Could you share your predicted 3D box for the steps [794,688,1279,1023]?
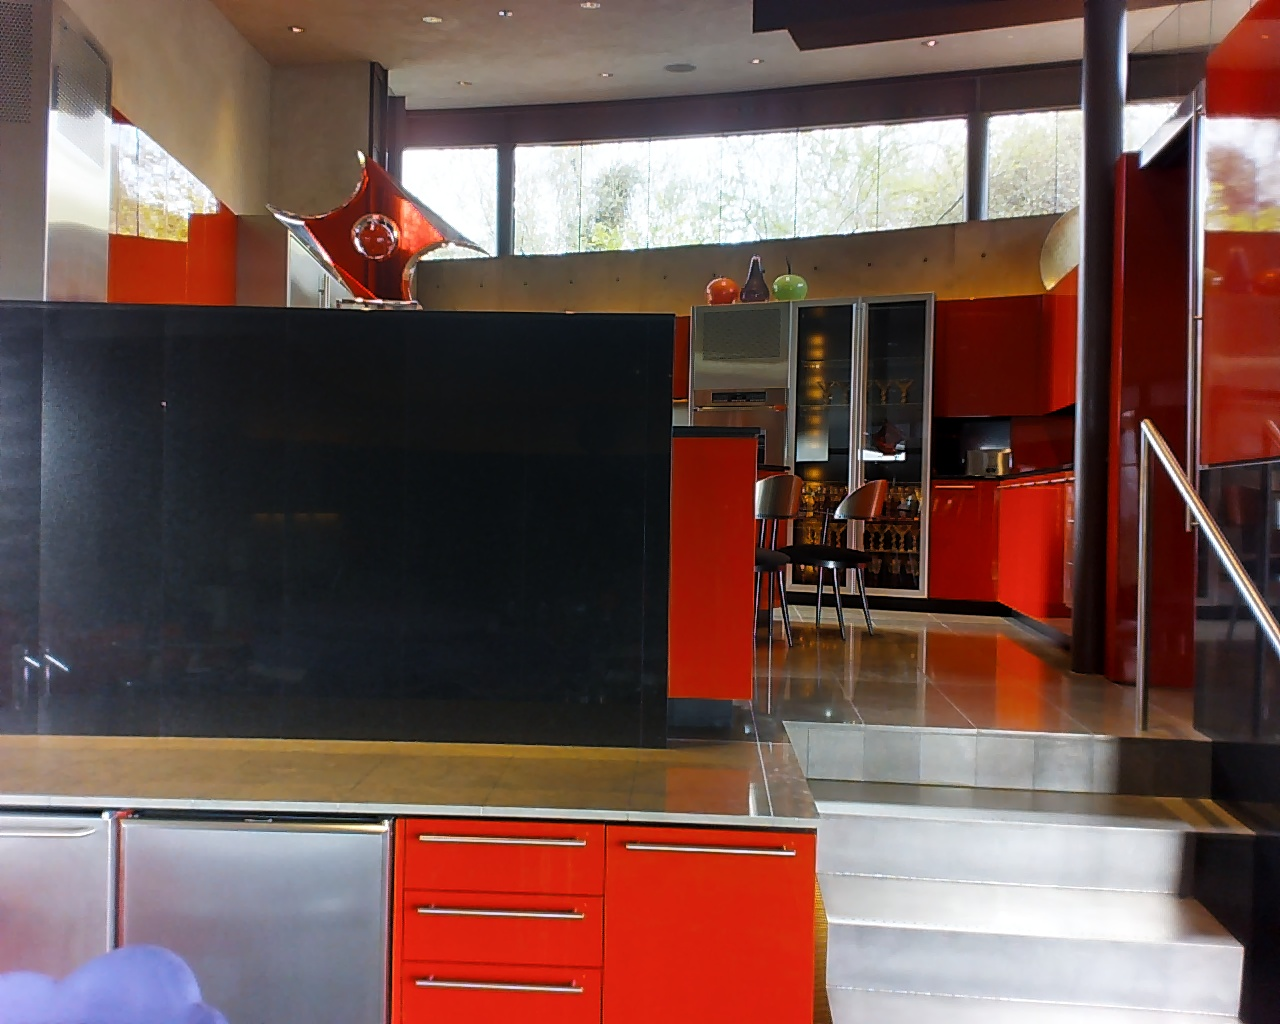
[{"bbox_3d":[1.060,1.080,2.640,1.230,0.970,1.450,1,2,4],"label":"steps"}]
